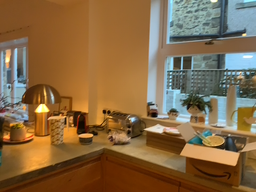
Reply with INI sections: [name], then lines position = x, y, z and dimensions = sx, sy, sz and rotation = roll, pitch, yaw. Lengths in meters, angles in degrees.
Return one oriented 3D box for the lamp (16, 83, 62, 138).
[lamp]
position = -0.870, 0.120, 2.080
dimensions = 0.290, 0.480, 0.310
rotation = 6, 6, 39
